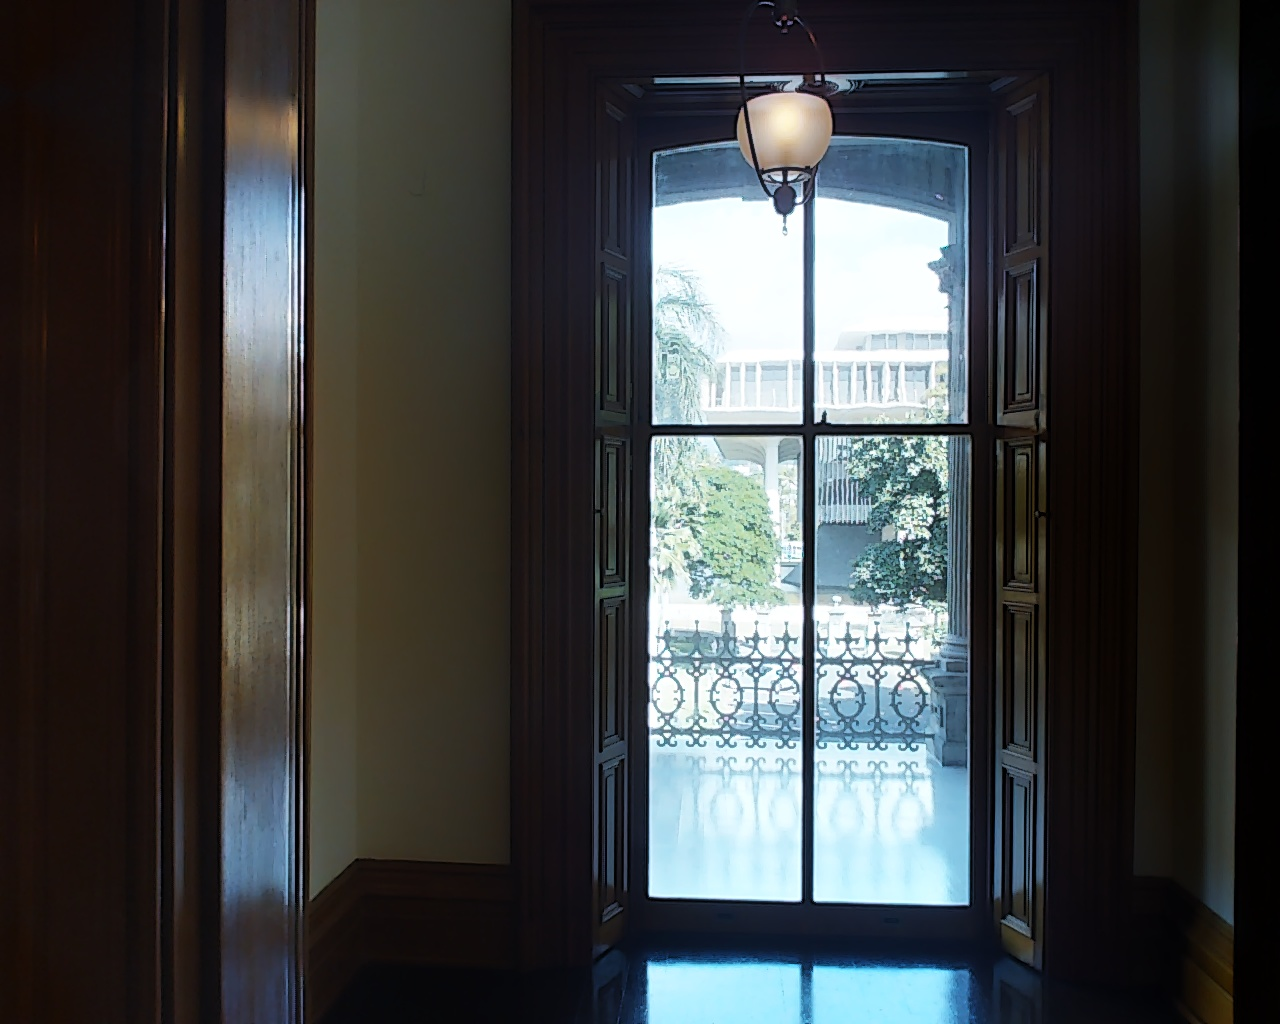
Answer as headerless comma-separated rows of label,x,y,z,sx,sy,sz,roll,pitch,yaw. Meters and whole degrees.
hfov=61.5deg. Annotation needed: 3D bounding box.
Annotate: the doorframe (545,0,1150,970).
doorframe,0.690,-0.140,3.820,1.990,3.300,0.400,0,0,4
